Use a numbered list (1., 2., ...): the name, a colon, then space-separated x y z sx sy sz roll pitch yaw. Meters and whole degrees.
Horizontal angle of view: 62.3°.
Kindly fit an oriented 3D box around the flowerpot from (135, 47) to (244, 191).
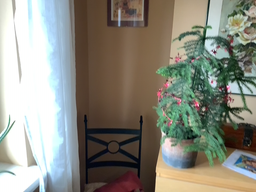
1. flowerpot: 0.240 0.060 0.900 0.300 0.500 0.400 7 15 16

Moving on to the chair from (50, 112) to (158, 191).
1. chair: -0.130 0.700 1.490 0.530 0.980 0.680 3 15 1
